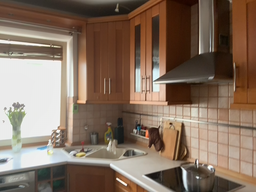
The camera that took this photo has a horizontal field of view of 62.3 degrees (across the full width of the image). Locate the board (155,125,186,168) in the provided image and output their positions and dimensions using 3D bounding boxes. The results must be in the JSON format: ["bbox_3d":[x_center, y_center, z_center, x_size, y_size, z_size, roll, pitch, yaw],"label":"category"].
[{"bbox_3d":[0.440,0.520,2.220,0.120,0.380,0.290,9,-5,-30],"label":"board"}]
